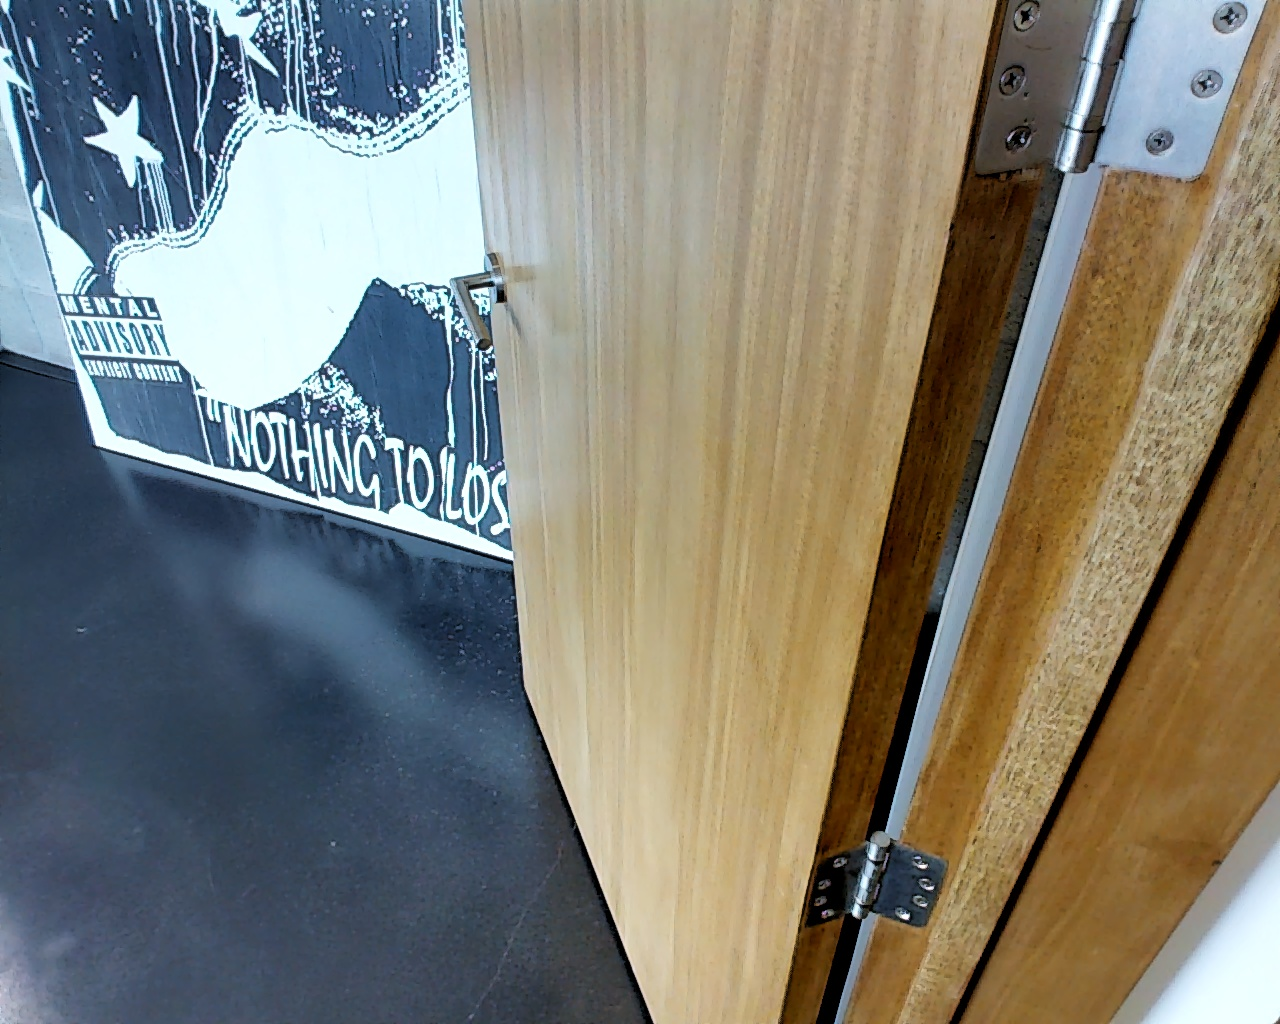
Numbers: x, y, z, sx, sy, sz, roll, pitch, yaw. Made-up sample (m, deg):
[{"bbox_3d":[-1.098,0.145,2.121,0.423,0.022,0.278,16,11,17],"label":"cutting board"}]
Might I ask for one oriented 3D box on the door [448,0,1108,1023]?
[{"bbox_3d":[-0.030,-0.270,0.940,0.100,2.350,1.010,-11,43,-13],"label":"door"}]
